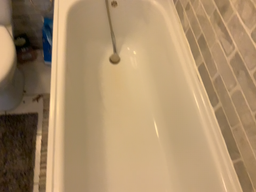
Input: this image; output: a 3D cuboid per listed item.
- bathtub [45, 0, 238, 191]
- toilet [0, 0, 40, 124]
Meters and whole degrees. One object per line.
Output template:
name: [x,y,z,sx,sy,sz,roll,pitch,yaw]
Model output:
bathtub: [-0.010,0.180,1.160,0.690,0.570,1.670,-3,61,-9]
toilet: [-0.800,-0.300,1.190,0.360,0.750,0.670,-2,61,-9]
